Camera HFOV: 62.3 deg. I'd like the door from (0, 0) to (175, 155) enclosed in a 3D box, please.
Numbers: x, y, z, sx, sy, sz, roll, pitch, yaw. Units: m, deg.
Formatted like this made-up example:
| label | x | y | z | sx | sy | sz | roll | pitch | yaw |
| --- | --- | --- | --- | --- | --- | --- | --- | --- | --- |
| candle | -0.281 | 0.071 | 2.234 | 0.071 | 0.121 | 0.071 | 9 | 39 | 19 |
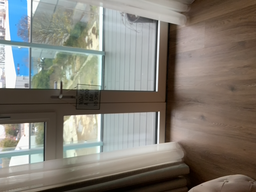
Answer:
| label | x | y | z | sx | sy | sz | roll | pitch | yaw |
| --- | --- | --- | --- | --- | --- | --- | --- | --- | --- |
| door | -0.710 | -0.230 | 1.630 | 0.090 | 2.660 | 1.300 | 8 | 96 | 59 |
